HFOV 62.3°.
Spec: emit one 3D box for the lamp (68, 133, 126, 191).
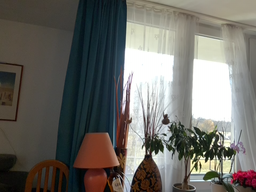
[{"bbox_3d":[-0.220,0.540,1.440,0.330,0.530,0.220,6,-6,-16],"label":"lamp"}]
